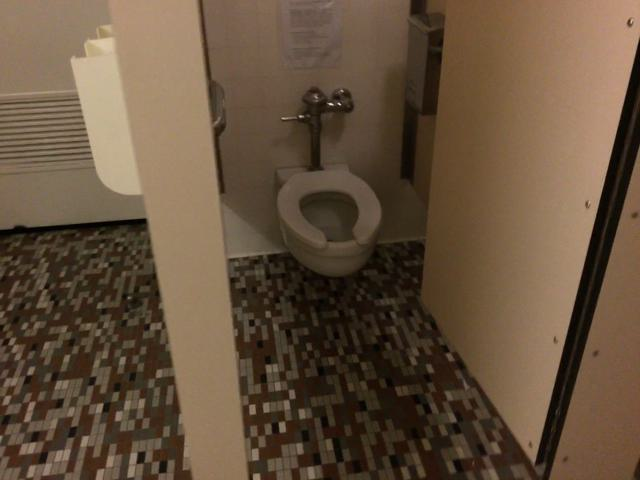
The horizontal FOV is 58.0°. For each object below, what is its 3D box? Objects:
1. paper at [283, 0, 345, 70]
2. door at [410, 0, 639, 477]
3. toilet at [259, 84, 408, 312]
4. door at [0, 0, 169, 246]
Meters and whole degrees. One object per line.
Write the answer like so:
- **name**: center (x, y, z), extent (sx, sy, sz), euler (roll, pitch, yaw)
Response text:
- **paper**: center (-0.020, -0.750, 2.050), extent (0.210, 0.260, 0.060), euler (-6, 30, -9)
- **door**: center (0.360, -0.260, 1.150), extent (0.050, 1.380, 0.640), euler (-8, 30, -12)
- **toilet**: center (0.020, -0.180, 2.030), extent (0.370, 0.560, 0.620), euler (-6, 30, -9)
- **door**: center (-1.180, -0.870, 2.180), extent (0.910, 1.900, 0.160), euler (-6, 30, -9)
